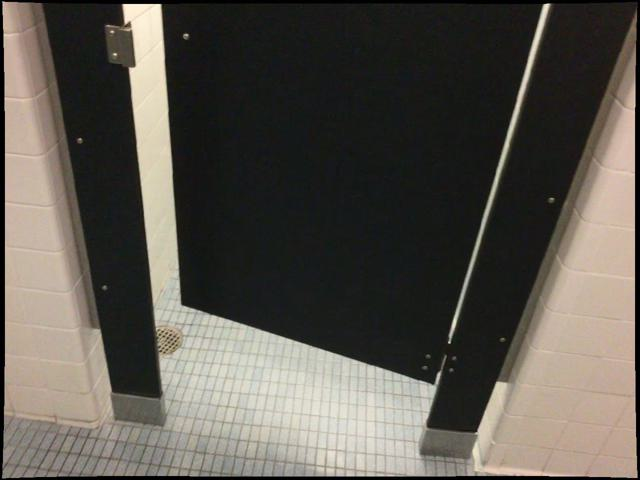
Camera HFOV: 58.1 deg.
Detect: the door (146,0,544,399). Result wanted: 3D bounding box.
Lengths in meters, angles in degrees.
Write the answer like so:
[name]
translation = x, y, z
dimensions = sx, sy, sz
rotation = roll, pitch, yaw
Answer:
[door]
translation = -0.010, -0.090, 1.200
dimensions = 0.679, 0.862, 0.080
rotation = 14, 34, 12
